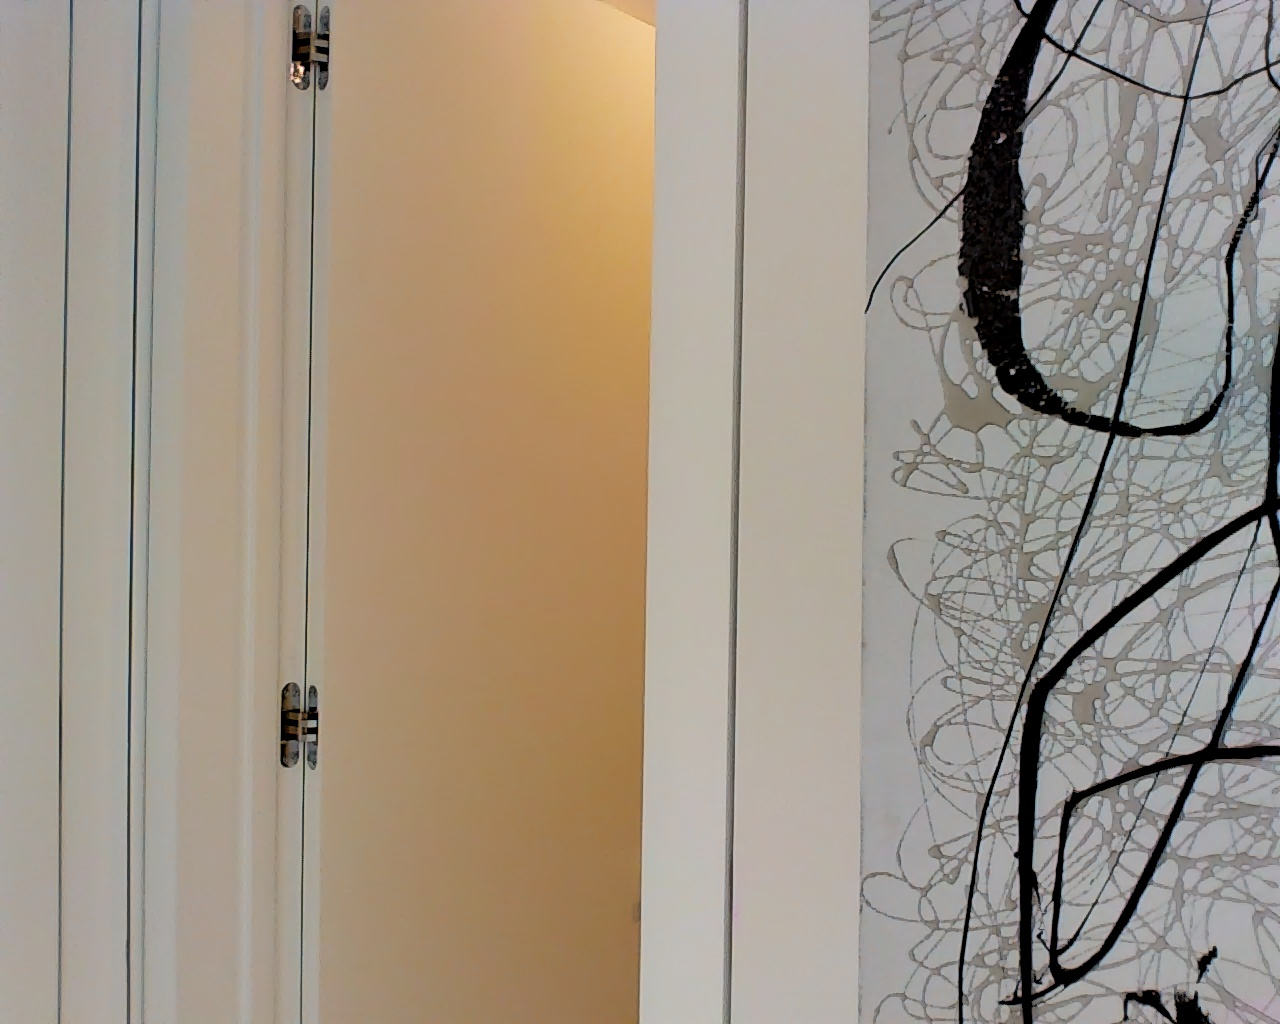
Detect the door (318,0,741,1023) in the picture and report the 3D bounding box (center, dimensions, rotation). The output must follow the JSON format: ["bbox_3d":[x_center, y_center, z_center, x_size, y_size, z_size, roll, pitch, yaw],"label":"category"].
[{"bbox_3d":[-0.130,0.290,1.790,0.040,2.510,0.860,1,1,45],"label":"door"}]
